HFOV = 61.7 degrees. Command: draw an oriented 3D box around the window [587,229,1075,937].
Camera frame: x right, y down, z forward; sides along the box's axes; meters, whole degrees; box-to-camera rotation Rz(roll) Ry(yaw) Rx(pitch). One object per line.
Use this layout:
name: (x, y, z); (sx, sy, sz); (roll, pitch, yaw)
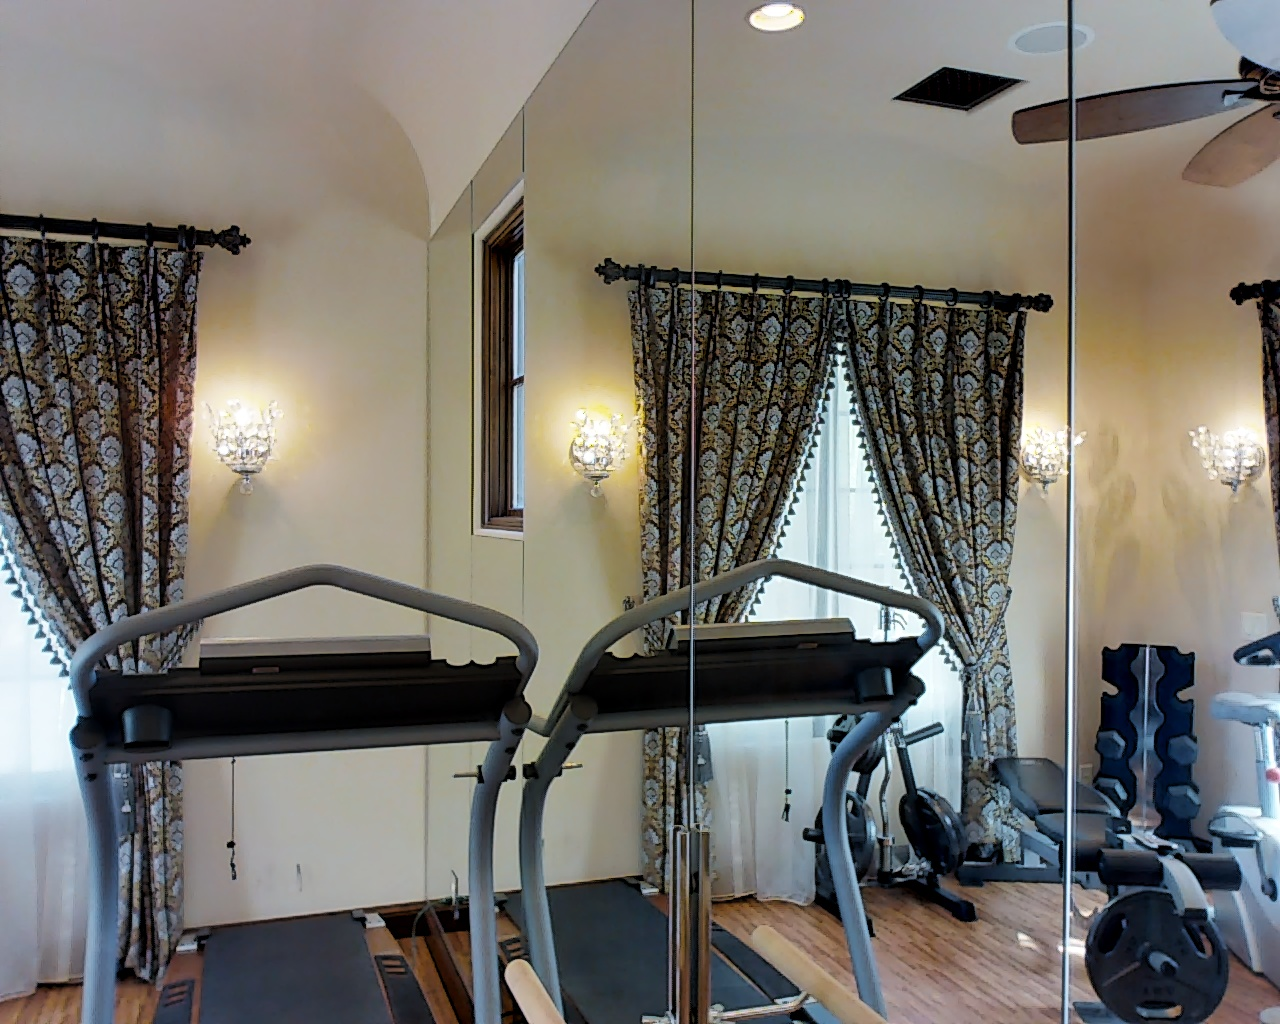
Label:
window: (0.860, 0.280, 4.550); (2.150, 2.680, 0.290); (1, 0, -20)

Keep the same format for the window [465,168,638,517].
window: (-0.270, -0.420, 3.010); (0.320, 0.860, 0.650); (1, 0, -19)
